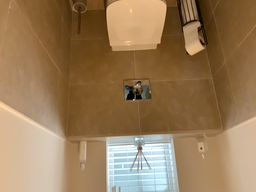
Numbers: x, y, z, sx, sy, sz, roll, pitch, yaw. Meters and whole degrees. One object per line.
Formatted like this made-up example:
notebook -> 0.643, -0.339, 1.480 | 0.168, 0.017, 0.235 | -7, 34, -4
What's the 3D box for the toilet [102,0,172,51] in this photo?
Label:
toilet -> 0.050, -0.610, 1.480 | 0.390, 0.340, 0.530 | -3, 161, 0
